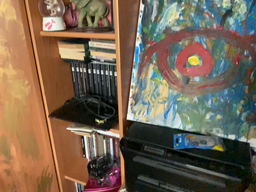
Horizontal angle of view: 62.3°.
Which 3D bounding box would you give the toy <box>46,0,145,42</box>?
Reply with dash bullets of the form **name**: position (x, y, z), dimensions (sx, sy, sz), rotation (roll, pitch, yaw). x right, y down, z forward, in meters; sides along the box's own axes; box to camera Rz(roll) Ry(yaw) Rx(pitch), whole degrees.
- **toy**: position (-0.120, -0.390, 0.880), dimensions (0.300, 0.270, 0.280), rotation (9, 24, 22)
